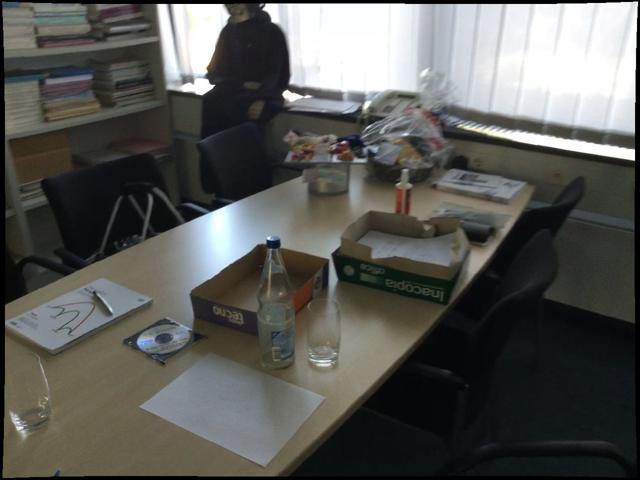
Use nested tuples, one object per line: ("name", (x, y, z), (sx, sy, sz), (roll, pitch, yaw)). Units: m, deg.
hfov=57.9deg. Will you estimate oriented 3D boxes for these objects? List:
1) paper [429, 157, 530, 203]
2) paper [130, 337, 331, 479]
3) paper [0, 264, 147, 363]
("paper", (0.599, -0.230, 2.170), (0.300, 0.050, 0.240), (16, 31, 31))
("paper", (-0.170, 0.310, 1.110), (0.310, 0.050, 0.220), (16, 31, 31))
("paper", (-0.609, 0.170, 1.430), (0.220, 0.070, 0.260), (16, 30, 31))
